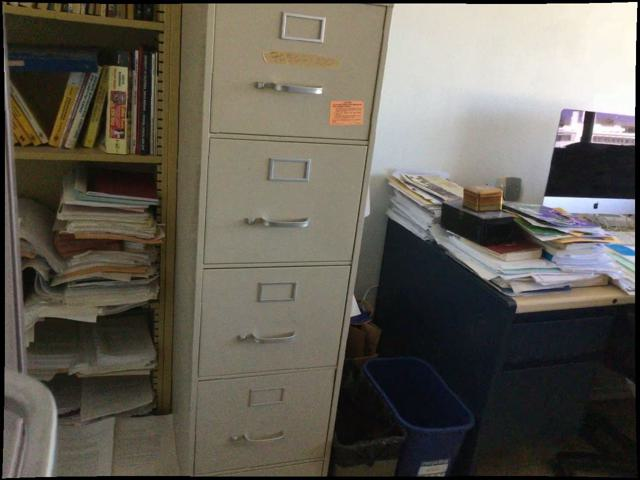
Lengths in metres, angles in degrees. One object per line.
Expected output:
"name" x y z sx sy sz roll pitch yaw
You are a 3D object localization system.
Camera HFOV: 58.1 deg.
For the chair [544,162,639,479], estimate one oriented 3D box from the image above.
"chair" 1.197 0.381 1.880 0.509 1.082 0.720 6 21 4
